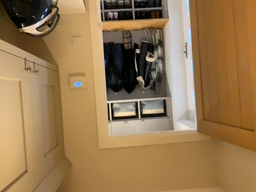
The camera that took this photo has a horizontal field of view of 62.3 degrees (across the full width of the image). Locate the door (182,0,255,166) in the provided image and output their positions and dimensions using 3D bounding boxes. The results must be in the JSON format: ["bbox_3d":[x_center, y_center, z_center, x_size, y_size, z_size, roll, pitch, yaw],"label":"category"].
[{"bbox_3d":[0.620,-0.630,1.520,0.150,1.950,0.920,-3,-179,-4],"label":"door"}]

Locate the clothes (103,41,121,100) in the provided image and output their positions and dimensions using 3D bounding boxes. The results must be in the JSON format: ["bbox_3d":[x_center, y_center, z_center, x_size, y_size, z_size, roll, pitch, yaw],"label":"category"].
[{"bbox_3d":[-0.270,-0.410,3.540,0.240,0.920,0.310,-3,-179,-4],"label":"clothes"}]

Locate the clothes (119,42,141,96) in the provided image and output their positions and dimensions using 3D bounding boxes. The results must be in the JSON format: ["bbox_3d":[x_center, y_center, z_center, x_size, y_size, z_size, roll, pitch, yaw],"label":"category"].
[{"bbox_3d":[0.020,-0.440,3.570,0.290,0.850,0.270,-3,-179,-7],"label":"clothes"}]

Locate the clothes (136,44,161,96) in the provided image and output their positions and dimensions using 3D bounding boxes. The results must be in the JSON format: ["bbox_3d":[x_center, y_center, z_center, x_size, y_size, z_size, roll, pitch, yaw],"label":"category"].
[{"bbox_3d":[0.340,-0.420,3.590,0.330,0.820,0.350,-3,-179,-2],"label":"clothes"}]
